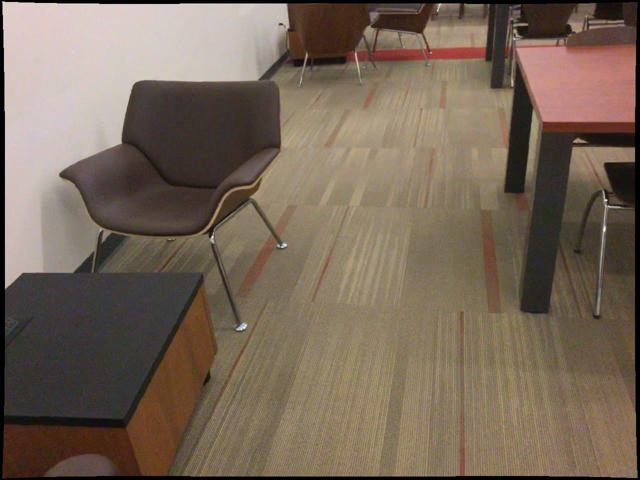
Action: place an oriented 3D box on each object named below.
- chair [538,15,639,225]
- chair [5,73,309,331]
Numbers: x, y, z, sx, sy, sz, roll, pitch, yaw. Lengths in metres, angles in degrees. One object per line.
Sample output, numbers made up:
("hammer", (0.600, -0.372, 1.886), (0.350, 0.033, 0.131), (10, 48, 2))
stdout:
("chair", (1.416, -0.592, 2.870), (0.469, 0.902, 0.500), (0, 30, 10))
("chair", (-0.588, -0.201, 2.480), (0.858, 0.802, 0.780), (2, 30, 13))
